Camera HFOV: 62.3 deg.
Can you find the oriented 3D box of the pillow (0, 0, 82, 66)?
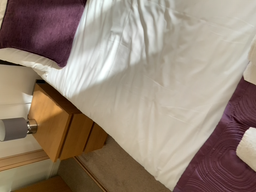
[{"bbox_3d":[-0.460,-0.400,1.090,0.130,0.350,0.410,32,92,11],"label":"pillow"}]

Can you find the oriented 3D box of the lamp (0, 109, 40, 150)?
[{"bbox_3d":[-0.850,0.240,1.600,0.230,0.240,0.180,37,113,32],"label":"lamp"}]
